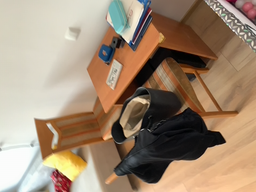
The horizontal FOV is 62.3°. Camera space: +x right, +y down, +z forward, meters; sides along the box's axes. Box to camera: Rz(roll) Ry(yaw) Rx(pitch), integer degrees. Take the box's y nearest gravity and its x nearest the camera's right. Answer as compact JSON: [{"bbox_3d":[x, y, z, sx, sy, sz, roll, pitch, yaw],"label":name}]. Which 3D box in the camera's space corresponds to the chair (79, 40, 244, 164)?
[{"bbox_3d":[0.240,0.040,1.400,0.430,0.910,0.480,-52,52,35],"label":"chair"}]

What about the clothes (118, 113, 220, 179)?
[{"bbox_3d":[0.200,0.230,1.020,0.310,0.390,0.110,-54,51,33],"label":"clothes"}]

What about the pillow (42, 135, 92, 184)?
[{"bbox_3d":[-0.700,0.740,2.440,0.260,0.450,0.570,64,154,25],"label":"pillow"}]
